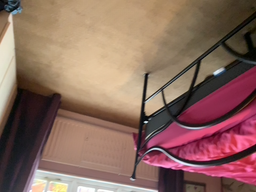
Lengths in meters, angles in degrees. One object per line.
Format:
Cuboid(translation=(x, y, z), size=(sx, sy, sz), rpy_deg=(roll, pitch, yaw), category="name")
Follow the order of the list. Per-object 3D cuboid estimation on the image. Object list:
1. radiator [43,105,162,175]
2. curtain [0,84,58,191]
Cuboid(translation=(-0.240, 0.600, 2.760), size=(1.520, 0.570, 0.100), rpy_deg=(18, 151, -20), category="radiator")
Cuboid(translation=(-1.150, 1.010, 1.890), size=(0.400, 2.340, 0.240), rpy_deg=(19, 151, -22), category="curtain")
